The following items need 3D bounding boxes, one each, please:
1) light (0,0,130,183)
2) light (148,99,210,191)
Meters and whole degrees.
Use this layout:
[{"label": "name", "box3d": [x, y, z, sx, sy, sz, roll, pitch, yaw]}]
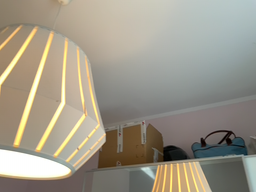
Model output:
[{"label": "light", "box3d": [-0.340, -0.160, 0.830, 0.960, 0.530, 0.630, 77, 13, -47]}, {"label": "light", "box3d": [0.470, 0.540, 2.000, 0.420, 0.480, 0.940, -54, 140, -76]}]
